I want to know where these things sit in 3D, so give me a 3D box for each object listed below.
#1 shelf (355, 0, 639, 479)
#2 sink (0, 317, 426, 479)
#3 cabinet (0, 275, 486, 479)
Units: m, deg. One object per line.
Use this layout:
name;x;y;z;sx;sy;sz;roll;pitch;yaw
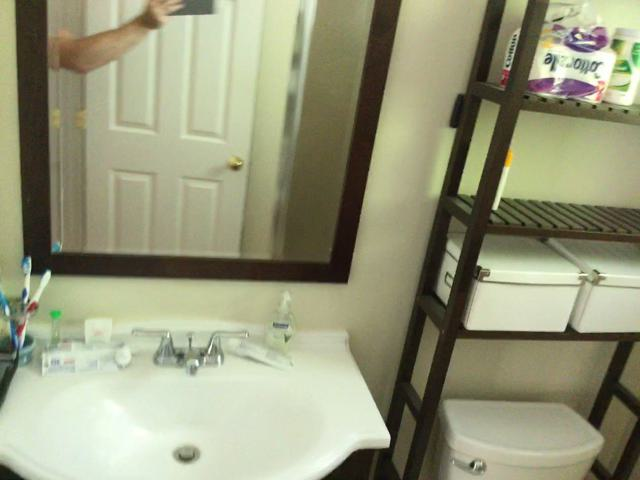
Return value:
shelf;0.600;0.170;1.400;0.750;1.540;0.250;5;22;-14
sink;-0.230;0.370;1.160;0.740;0.180;0.450;5;22;-14
cabinet;-0.260;0.670;1.300;0.860;1.010;0.480;5;22;-14
